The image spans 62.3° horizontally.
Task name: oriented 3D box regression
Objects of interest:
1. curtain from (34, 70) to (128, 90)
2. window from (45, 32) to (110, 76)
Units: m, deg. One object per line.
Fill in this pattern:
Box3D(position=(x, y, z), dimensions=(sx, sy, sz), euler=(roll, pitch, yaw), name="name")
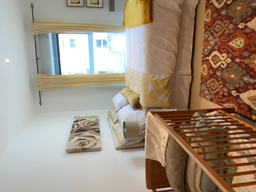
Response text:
Box3D(position=(-0.920, -0.350, 4.360), dimensions=(0.230, 1.840, 0.350), euler=(-129, 39, -73), name="curtain")
Box3D(position=(-1.030, -0.880, 4.510), dimensions=(0.120, 1.300, 0.900), euler=(-124, 34, -71), name="window")
